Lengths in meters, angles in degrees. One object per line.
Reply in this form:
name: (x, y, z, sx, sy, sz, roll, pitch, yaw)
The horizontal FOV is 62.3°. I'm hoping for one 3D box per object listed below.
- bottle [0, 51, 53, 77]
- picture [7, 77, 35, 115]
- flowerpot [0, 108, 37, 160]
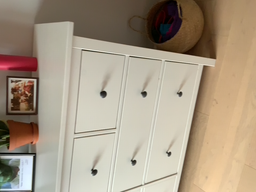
bottle: (-0.560, -0.160, 1.060, 0.120, 0.320, 0.100, 24, 110, 51)
picture: (-0.530, 0.000, 1.050, 0.070, 0.110, 0.170, 22, 108, 51)
flowerpot: (-0.660, 0.180, 1.020, 0.260, 0.350, 0.150, 27, 112, 50)
